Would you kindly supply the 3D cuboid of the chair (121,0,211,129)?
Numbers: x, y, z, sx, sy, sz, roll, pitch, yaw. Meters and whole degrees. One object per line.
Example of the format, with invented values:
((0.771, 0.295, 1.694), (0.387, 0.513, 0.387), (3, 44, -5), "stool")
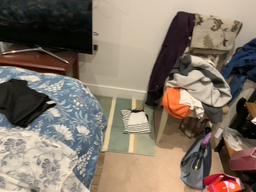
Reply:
((0.240, -0.290, 1.780), (0.470, 0.950, 0.560), (7, 37, 0), "chair")
